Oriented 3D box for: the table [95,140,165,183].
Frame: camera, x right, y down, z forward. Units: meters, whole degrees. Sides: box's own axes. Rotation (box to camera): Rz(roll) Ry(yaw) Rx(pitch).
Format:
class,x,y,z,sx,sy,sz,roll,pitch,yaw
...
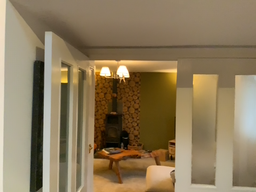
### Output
class,x,y,z,sx,sy,sz,roll,pitch,yaw
table,0.040,1.320,4.480,1.250,0.490,0.780,1,1,-33
